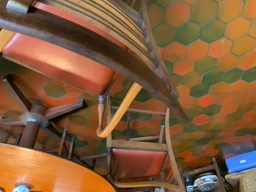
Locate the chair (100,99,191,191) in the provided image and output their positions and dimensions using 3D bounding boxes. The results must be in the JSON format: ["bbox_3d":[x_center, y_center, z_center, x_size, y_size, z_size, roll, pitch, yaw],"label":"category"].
[{"bbox_3d":[0.080,0.500,1.610,0.540,0.870,0.440,1,137,-5],"label":"chair"}]
